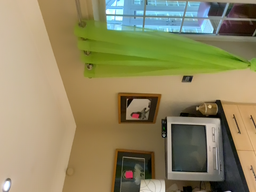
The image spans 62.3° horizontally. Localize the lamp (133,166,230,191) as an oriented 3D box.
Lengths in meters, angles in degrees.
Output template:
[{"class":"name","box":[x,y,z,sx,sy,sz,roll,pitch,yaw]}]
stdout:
[{"class":"lamp","box":[0.450,0.910,1.940,0.410,0.800,0.360,92,180,-50]}]
